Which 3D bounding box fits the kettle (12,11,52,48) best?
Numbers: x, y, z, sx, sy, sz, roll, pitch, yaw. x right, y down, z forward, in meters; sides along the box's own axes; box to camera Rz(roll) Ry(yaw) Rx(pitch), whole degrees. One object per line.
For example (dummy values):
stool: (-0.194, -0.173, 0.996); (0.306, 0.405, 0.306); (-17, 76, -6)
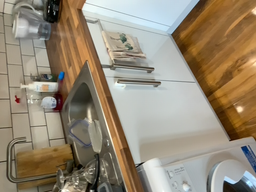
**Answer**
kettle: (-0.740, -0.500, 1.630); (0.180, 0.240, 0.150); (-46, 55, 44)
